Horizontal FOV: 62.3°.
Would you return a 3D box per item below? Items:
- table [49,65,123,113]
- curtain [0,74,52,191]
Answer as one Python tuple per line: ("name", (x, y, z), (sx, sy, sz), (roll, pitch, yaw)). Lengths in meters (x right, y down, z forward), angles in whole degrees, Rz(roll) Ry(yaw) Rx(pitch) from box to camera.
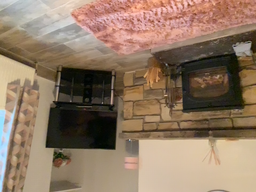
("table", (-0.610, -0.070, 3.310), (0.980, 0.500, 0.730), (4, 165, -7))
("curtain", (-1.210, 0.780, 2.400), (0.240, 2.050, 0.320), (-5, 163, 25))
